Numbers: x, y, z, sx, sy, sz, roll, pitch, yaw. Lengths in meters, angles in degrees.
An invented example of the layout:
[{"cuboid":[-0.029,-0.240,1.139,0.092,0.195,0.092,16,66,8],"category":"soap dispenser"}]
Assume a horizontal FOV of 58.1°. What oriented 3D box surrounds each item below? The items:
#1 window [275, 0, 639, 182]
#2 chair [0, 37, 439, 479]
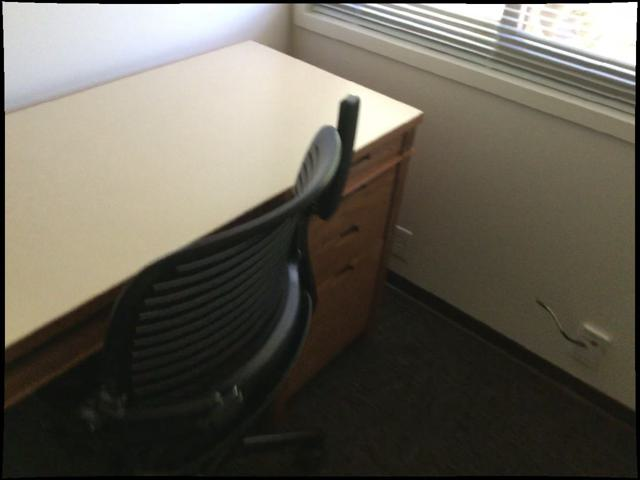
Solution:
[{"cuboid":[0.429,-0.521,1.390,1.309,0.401,0.180,31,46,28],"category":"window"},{"cuboid":[-0.229,0.241,1.100,0.529,0.971,0.580,26,44,23],"category":"chair"}]
